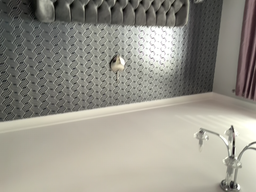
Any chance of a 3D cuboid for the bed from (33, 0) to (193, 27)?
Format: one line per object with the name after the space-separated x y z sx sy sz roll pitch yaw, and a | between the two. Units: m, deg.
-0.050 -1.070 2.370 1.860 0.500 0.180 -7 -162 -25 | bed
